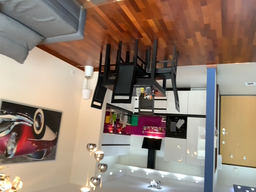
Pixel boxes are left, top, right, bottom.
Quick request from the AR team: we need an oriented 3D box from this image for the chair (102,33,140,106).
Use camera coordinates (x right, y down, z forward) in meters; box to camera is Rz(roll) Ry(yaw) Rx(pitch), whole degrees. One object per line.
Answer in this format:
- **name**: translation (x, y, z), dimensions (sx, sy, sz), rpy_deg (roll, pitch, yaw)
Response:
- **chair**: translation (-0.090, -0.400, 3.420), dimensions (0.350, 1.050, 0.490), rpy_deg (1, 169, 20)

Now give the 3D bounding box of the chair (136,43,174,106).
- **chair**: translation (0.470, -0.350, 3.590), dimensions (0.500, 0.990, 0.350), rpy_deg (1, 169, 20)
